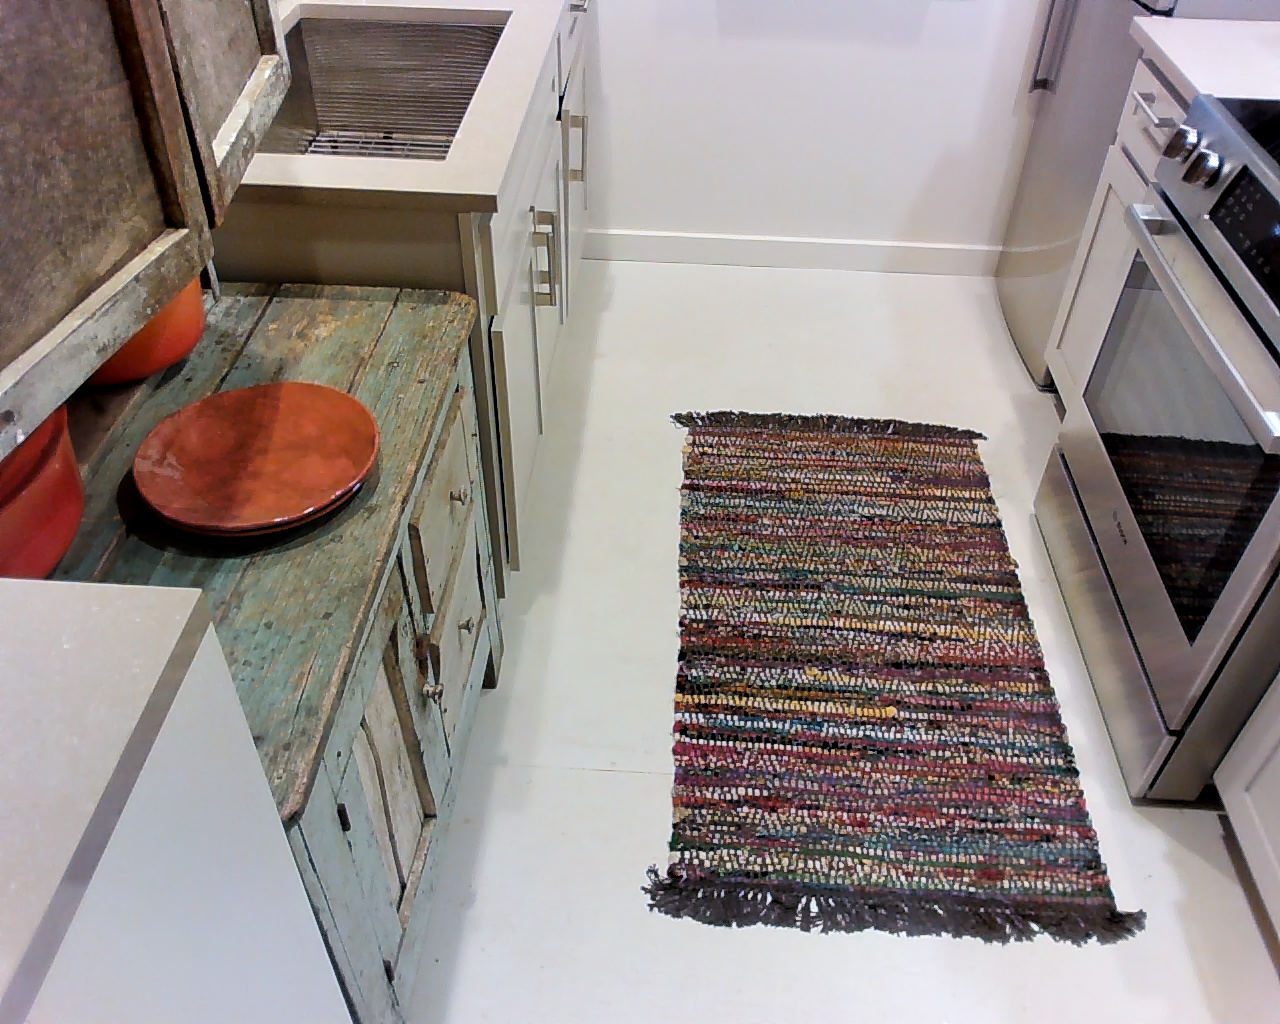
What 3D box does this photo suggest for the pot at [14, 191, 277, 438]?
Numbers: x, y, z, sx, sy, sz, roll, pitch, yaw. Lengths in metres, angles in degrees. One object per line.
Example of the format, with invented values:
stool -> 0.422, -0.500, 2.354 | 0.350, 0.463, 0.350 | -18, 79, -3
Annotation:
pot -> -0.610, -0.260, 1.370 | 0.150, 0.160, 0.320 | 5, 41, 4

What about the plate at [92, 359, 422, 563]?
plate -> -0.430, -0.070, 1.260 | 0.280, 0.040, 0.310 | 3, 41, 2

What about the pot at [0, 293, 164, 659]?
pot -> -0.650, -0.050, 1.120 | 0.160, 0.180, 0.380 | -3, 41, -4

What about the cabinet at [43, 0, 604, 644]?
cabinet -> -0.470, -0.640, 2.390 | 0.630, 0.960, 1.580 | 3, 41, 2
